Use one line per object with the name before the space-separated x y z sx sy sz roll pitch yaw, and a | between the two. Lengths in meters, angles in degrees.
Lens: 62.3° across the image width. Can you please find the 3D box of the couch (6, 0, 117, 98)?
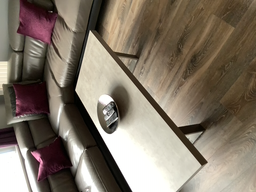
couch | -0.850 -0.880 2.380 1.140 0.720 1.310 53 135 33

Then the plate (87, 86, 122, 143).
plate | -0.190 0.140 1.610 0.320 0.050 0.290 57 137 29

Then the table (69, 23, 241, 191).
table | 0.030 0.110 1.690 1.360 0.400 0.720 53 135 32

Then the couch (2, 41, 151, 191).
couch | -0.880 0.560 2.660 2.740 0.760 1.150 53 135 33
